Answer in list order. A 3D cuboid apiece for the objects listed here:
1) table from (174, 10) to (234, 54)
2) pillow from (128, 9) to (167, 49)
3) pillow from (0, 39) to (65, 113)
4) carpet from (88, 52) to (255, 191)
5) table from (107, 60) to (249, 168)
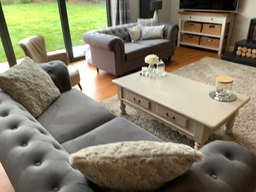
[{"bbox_3d":[1.770,-1.590,5.120,0.470,0.810,1.210,-22,34,-35],"label":"table"},{"bbox_3d":[0.390,-1.340,4.230,0.470,0.530,0.350,-38,37,2],"label":"pillow"},{"bbox_3d":[-0.910,-0.180,1.920,0.240,0.380,0.530,1,49,38],"label":"pillow"},{"bbox_3d":[1.260,-0.070,3.160,2.980,0.150,2.160,-22,34,-35],"label":"carpet"},{"bbox_3d":[0.460,0.070,2.390,0.700,0.510,1.330,-23,35,-36],"label":"table"}]
